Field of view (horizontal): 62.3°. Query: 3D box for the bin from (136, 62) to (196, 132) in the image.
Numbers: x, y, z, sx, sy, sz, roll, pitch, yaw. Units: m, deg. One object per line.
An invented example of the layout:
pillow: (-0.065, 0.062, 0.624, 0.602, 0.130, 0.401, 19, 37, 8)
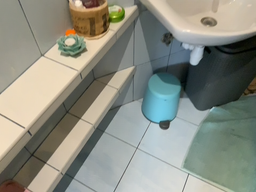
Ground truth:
bin: (0.230, 0.010, 1.420, 0.260, 0.330, 0.260, -19, 55, -15)

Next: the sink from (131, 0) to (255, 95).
sink: (0.410, -0.340, 0.950, 0.670, 0.250, 0.430, -19, 55, -14)
